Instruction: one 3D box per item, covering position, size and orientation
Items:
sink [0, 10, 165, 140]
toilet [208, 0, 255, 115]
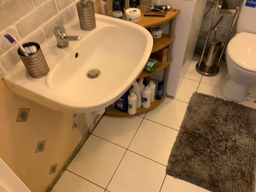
[{"bbox_3d":[-0.140,-0.150,0.910,0.410,0.130,0.580,19,50,18],"label":"sink"},{"bbox_3d":[0.960,-0.360,1.650,0.360,0.710,0.640,19,50,18],"label":"toilet"}]
